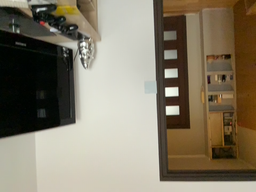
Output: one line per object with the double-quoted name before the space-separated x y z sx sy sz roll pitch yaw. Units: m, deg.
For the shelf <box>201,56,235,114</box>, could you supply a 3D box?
"shelf" 1.580 -0.190 3.740 0.500 0.980 0.120 -2 180 9
